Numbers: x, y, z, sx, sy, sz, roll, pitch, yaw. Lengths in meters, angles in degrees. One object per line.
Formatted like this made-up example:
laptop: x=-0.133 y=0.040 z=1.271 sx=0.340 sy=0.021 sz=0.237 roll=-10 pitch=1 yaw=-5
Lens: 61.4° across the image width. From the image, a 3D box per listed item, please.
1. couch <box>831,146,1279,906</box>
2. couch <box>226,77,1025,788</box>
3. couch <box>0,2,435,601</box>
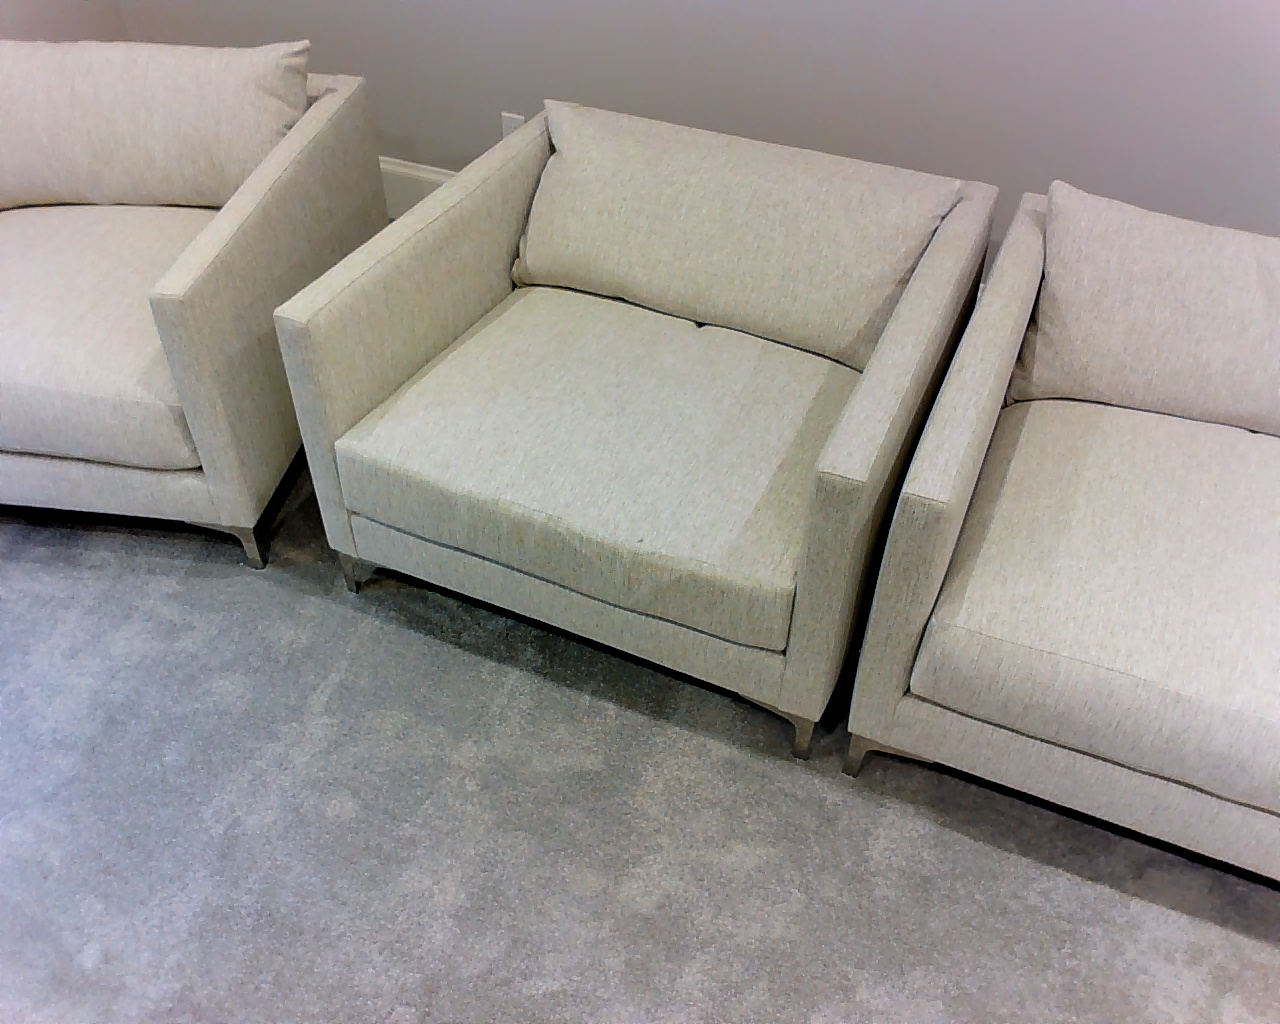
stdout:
couch: x=1.030 y=0.010 z=1.730 sx=1.130 sy=0.650 sz=0.970 roll=17 pitch=44 yaw=17
couch: x=0.040 y=-0.240 z=2.090 sx=1.070 sy=0.700 sz=0.990 roll=17 pitch=44 yaw=17
couch: x=-1.160 y=-0.500 z=2.300 sx=1.110 sy=0.780 sz=1.000 roll=6 pitch=42 yaw=5
